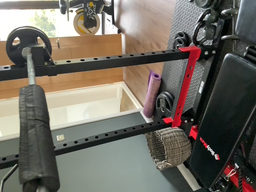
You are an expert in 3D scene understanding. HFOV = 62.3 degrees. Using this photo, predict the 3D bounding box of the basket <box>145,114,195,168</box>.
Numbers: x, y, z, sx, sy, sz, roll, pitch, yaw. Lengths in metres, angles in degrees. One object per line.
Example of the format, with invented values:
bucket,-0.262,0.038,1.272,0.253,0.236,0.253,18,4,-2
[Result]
basket,0.430,0.470,2.270,0.380,0.310,0.350,-123,31,-47
